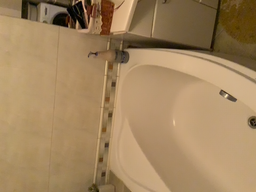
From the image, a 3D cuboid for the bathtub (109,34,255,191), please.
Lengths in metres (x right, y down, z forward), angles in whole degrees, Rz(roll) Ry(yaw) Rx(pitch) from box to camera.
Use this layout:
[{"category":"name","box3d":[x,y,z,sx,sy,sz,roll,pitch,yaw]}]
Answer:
[{"category":"bathtub","box3d":[0.560,0.240,1.250,1.520,0.620,1.030,17,103,56]}]
